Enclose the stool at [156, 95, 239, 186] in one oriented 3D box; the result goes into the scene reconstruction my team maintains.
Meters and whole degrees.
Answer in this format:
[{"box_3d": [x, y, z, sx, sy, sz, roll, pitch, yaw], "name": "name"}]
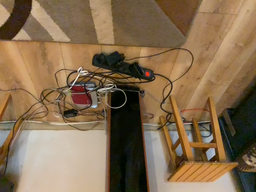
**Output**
[{"box_3d": [0.390, 0.280, 1.330, 0.300, 0.460, 0.320, 2, 142, -7], "name": "stool"}]
